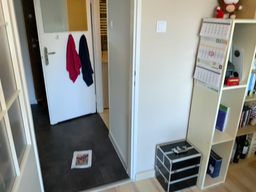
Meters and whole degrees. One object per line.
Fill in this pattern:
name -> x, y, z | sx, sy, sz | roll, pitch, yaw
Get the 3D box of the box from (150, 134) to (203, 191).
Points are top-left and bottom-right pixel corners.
box -> 0.440, 0.640, 2.010 | 0.330, 0.400, 0.310 | -7, 23, -21
